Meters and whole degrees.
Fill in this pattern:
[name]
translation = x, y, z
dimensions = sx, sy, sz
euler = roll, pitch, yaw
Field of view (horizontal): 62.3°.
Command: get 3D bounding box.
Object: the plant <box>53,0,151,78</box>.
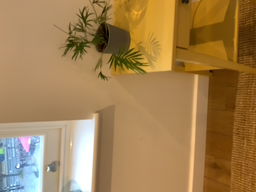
[plant]
translation = -0.100, -0.210, 0.750
dimensions = 0.250, 0.240, 0.270
euler = 4, 91, 53
